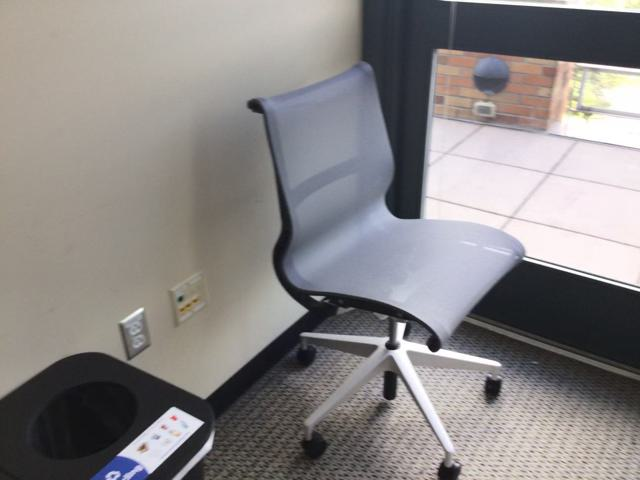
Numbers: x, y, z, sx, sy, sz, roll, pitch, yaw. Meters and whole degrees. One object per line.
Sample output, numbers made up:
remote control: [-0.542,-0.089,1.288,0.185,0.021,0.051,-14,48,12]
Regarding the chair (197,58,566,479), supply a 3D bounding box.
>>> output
chair: [0.170,0.070,1.580,0.690,0.960,0.530,16,33,31]
